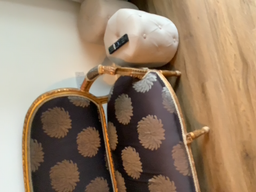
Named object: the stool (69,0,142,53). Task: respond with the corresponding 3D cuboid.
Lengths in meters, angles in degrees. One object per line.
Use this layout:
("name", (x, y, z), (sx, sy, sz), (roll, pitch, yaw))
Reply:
("stool", (-0.190, -0.620, 1.810), (0.330, 0.450, 0.370), (-18, 81, 48))

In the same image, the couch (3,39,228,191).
("couch", (-0.030, 0.600, 1.350), (0.850, 1.010, 1.570), (-16, 83, 48))

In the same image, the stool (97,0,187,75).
("stool", (0.100, -0.390, 1.520), (0.360, 0.450, 0.380), (-18, 81, 48))
